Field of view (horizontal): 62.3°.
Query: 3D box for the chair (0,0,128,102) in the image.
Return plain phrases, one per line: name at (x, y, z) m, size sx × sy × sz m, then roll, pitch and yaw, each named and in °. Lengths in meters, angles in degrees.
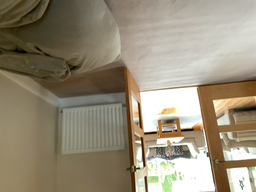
chair at (-0.570, -0.310, 1.520) m, size 1.040 × 0.330 × 1.090 m, roll -5°, pitch 163°, yaw 3°
